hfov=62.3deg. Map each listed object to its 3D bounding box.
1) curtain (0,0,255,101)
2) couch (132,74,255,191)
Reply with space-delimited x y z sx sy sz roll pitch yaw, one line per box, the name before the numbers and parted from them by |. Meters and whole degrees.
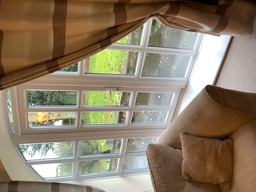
curtain | -0.060 -0.420 1.690 0.170 2.360 0.950 -119 35 -57
couch | 0.680 0.660 1.620 1.120 0.830 1.160 115 150 -51
